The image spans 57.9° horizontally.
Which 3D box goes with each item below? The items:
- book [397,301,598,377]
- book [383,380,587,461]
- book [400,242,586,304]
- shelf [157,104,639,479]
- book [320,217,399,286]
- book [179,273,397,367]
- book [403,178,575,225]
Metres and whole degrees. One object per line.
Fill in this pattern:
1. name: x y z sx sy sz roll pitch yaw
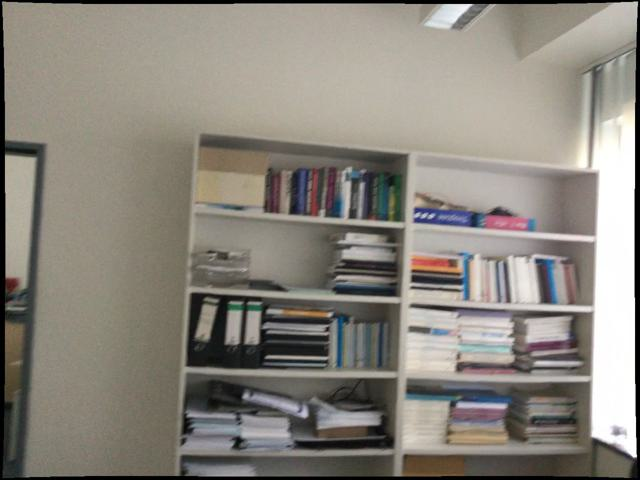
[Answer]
1. book: 0.839 0.470 2.790 0.869 0.310 0.310 2 0 -8
2. book: 0.779 0.851 2.780 0.889 0.270 0.310 2 1 -10
3. book: 0.839 0.160 2.830 0.849 0.250 0.220 3 1 -10
4. shelf: 0.430 0.591 2.740 2.248 2.172 0.550 2 2 -10
5. book: 0.180 0.050 2.740 0.310 0.300 0.240 2 2 -10
6. book: -0.150 0.360 2.660 0.939 0.370 0.290 2 2 -10
7. book: 0.809 -0.180 2.800 0.749 0.180 0.270 2 2 -10
